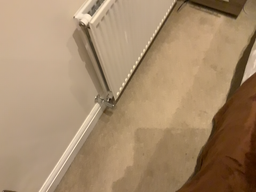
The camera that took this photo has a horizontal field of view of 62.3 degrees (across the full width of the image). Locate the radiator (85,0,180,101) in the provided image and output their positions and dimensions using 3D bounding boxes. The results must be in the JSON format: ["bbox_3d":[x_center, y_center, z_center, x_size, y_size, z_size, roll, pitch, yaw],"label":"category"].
[{"bbox_3d":[0.160,-0.570,1.190,0.070,0.640,1.090,22,68,16],"label":"radiator"}]
